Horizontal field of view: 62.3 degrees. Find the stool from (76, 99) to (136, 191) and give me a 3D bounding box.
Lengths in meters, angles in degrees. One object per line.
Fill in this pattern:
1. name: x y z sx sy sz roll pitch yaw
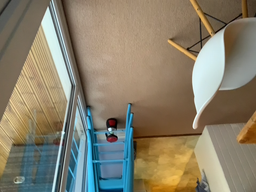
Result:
1. stool: -0.170 0.560 1.810 0.410 1.010 0.430 -4 138 -2
